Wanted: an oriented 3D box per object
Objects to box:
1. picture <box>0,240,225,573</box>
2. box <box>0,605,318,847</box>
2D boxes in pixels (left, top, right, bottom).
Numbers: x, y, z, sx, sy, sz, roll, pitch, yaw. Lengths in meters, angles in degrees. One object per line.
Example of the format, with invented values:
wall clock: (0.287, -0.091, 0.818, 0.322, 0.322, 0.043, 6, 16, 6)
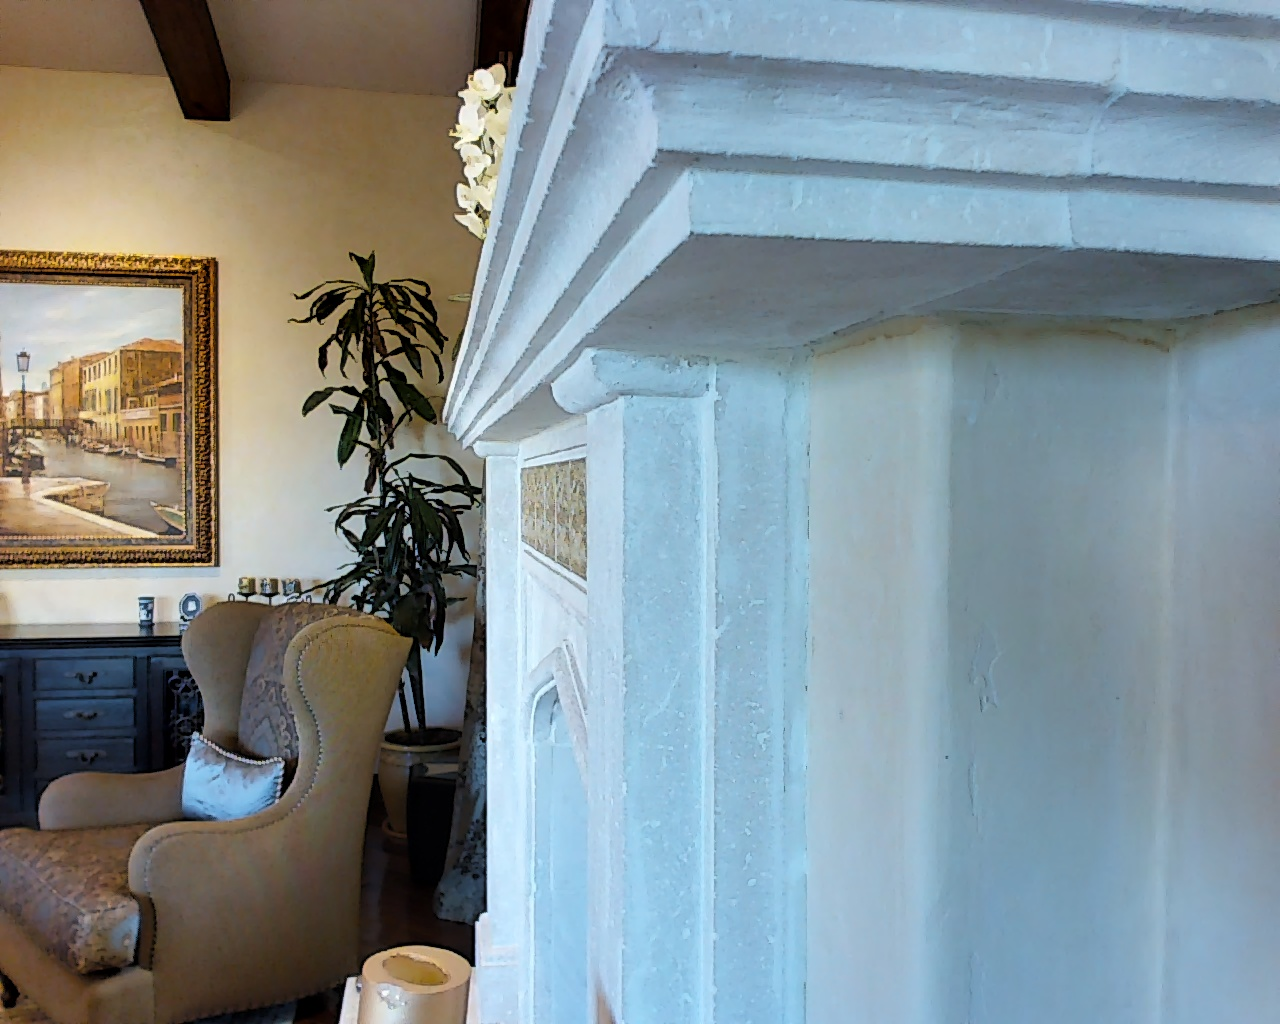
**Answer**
picture: (-2.600, -0.480, 4.990, 1.240, 1.520, 0.070, 0, 2, -10)
box: (-2.480, 0.930, 4.800, 1.940, 0.940, 0.530, 0, 2, -10)
